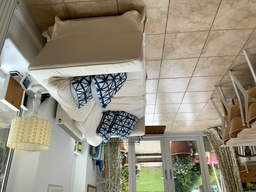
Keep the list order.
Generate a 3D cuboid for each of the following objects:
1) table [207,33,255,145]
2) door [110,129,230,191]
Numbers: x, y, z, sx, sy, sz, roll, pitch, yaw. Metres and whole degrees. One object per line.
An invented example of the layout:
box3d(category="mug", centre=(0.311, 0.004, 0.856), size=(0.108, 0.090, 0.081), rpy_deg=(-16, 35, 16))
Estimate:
box3d(category="table", centre=(1.910, 0.060, 2.910), size=(0.980, 0.760, 1.910), rpy_deg=(-2, 154, 2))
box3d(category="door", centre=(0.940, 1.870, 5.130), size=(2.710, 2.070, 0.170), rpy_deg=(-3, 154, 4))
